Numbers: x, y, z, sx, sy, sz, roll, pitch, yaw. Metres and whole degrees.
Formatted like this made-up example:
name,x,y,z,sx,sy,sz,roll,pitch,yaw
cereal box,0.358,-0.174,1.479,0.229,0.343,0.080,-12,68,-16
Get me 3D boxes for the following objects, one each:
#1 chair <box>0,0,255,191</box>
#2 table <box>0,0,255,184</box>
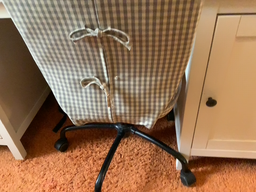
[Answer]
name,x,y,z,sx,sy,sz,roll,pitch,yaw
chair,-0.050,-0.130,0.750,0.640,0.900,0.690,3,39,8
table,-0.140,-0.180,0.970,1.590,0.730,0.700,2,39,7
